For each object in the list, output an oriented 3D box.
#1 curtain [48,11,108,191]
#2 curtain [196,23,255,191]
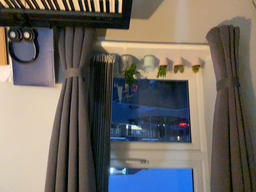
[{"bbox_3d":[-0.250,0.270,1.110,0.230,1.480,0.190,2,167,-3],"label":"curtain"},{"bbox_3d":[0.550,0.270,1.140,0.240,1.370,0.160,2,167,-3],"label":"curtain"}]
